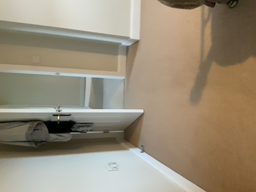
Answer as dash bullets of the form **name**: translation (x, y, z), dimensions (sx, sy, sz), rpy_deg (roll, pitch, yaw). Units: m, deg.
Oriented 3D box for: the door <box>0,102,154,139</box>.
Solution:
- **door**: translation (-0.660, 0.320, 2.600), dimensions (1.050, 1.660, 0.110), rpy_deg (130, 137, -59)
